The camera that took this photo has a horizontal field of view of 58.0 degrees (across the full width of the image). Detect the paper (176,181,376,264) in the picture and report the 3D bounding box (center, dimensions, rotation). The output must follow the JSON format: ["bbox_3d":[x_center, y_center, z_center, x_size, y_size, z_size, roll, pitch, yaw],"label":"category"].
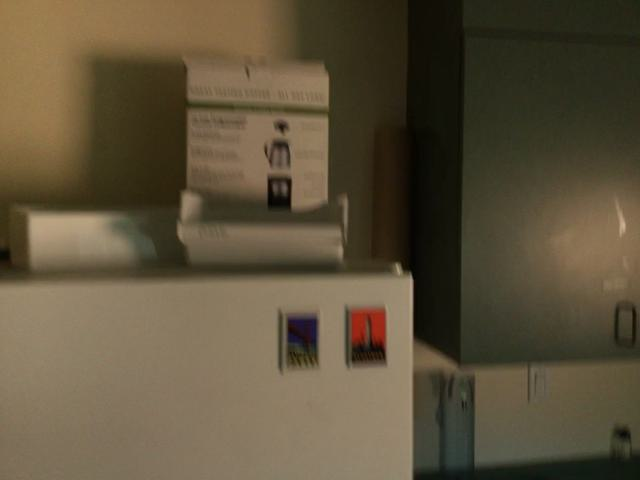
[{"bbox_3d":[-0.080,-0.030,0.980,0.300,0.120,0.220,1,3,-9],"label":"paper"}]
